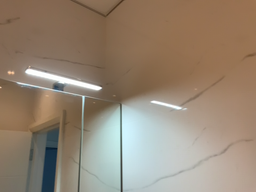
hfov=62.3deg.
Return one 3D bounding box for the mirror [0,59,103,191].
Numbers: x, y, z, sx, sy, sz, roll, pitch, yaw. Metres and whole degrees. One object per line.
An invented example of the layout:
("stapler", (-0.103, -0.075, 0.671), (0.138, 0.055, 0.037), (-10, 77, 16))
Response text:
("mirror", (-0.400, 0.270, 0.880), (0.660, 0.820, 0.040), (13, -23, -37))
